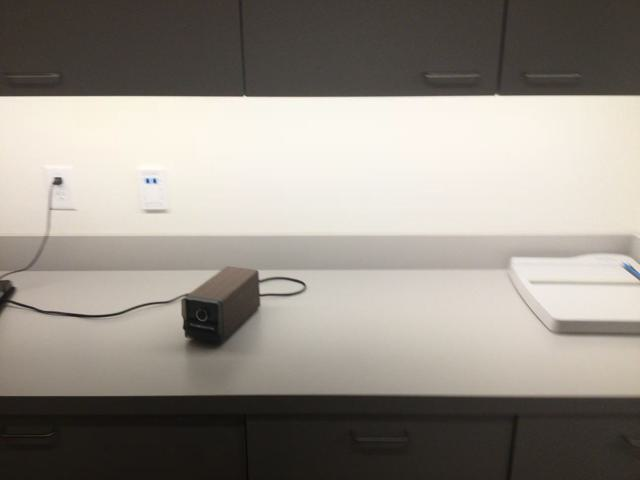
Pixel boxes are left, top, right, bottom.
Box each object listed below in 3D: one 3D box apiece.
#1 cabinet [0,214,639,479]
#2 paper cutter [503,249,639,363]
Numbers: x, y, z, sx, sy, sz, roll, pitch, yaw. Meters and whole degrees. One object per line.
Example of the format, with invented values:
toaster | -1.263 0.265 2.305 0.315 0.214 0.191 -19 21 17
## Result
cabinet | -0.120 0.510 1.410 2.000 0.970 0.630 -1 18 1
paper cutter | 0.660 0.130 1.320 0.340 0.060 0.480 -1 18 1
